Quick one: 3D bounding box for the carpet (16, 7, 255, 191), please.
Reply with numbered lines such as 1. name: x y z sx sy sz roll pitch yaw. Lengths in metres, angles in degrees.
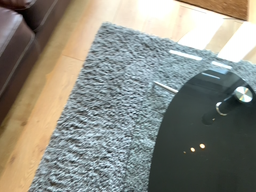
1. carpet: 0.190 0.410 0.950 1.230 0.070 1.760 17 65 0
